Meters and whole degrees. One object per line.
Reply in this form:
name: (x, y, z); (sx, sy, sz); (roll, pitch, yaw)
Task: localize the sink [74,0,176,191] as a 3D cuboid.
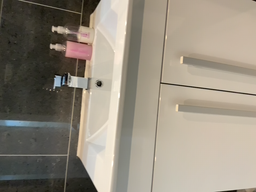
sink: (-0.050, -0.050, 0.720); (0.460, 0.140, 0.620); (-177, 93, -68)
